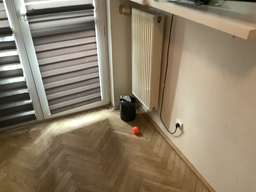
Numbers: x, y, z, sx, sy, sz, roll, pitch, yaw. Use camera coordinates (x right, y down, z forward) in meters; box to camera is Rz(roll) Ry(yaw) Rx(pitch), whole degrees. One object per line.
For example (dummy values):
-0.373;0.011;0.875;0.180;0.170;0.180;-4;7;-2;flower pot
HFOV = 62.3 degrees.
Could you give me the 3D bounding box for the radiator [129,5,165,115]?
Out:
0.150;-0.330;2.070;0.120;0.970;0.420;-13;35;-20;radiator
